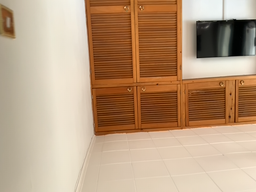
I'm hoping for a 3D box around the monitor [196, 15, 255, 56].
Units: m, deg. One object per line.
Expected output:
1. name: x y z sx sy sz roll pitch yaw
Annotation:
1. monitor: 1.480 -0.880 3.090 0.980 0.530 0.050 -4 -171 -4
